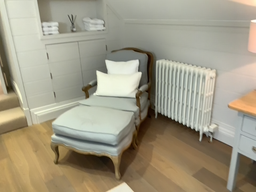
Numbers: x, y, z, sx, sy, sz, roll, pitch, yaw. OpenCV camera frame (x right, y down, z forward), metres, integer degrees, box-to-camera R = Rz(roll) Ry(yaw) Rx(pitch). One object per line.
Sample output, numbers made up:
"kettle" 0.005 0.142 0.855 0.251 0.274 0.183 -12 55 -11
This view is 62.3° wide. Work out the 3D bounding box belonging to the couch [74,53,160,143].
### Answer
"couch" -0.090 -0.050 2.750 0.740 0.840 0.810 10 24 26
